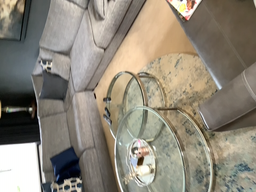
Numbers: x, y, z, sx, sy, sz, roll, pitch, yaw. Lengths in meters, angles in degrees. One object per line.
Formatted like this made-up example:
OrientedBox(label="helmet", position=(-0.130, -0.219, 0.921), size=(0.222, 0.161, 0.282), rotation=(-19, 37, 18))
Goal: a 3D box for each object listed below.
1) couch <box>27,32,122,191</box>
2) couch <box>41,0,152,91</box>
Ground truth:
OrientedBox(label="couch", position=(-1.040, 0.590, 3.550), size=(1.170, 0.790, 3.270), rotation=(-49, 51, 45))
OrientedBox(label="couch", position=(-0.560, -1.140, 2.880), size=(2.080, 0.700, 1.200), rotation=(-49, 51, 45))
